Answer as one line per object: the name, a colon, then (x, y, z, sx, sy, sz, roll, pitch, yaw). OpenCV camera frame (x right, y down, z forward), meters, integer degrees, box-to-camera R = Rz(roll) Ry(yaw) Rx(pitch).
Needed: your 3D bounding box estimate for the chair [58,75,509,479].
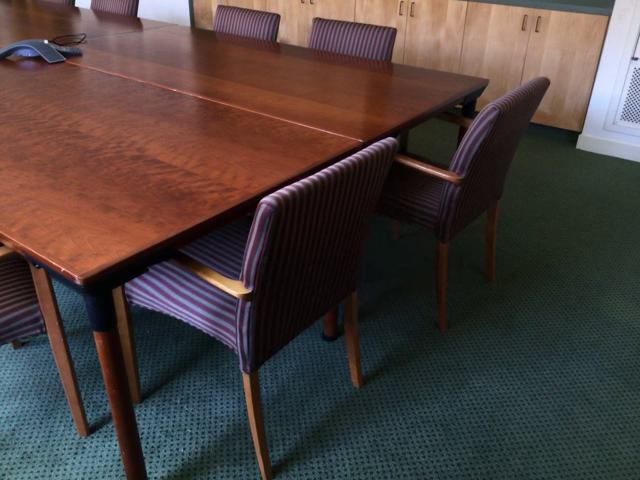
chair: (-0.070, 0.110, 1.560, 0.810, 0.850, 0.670, 19, 35, 30)

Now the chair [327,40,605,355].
chair: (0.500, -0.210, 2.120, 0.700, 0.830, 0.650, 19, 35, 30)
